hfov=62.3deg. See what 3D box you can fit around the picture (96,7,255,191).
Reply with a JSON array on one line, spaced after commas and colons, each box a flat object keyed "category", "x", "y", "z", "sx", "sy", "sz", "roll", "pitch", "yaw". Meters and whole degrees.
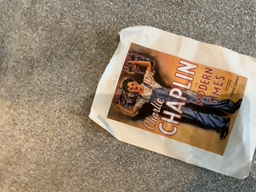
[{"category": "picture", "x": 0.120, "y": 0.010, "z": 0.370, "sx": 0.290, "sy": 0.040, "sz": 0.240, "roll": 17, "pitch": 92, "yaw": 1}]
